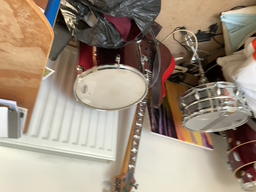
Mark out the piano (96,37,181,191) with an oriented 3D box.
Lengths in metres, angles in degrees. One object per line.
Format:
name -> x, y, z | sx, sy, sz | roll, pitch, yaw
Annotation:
piano -> 0.070, 0.170, 1.430 | 0.420, 1.160, 0.240 | 16, 146, -22

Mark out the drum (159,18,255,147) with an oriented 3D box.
drum -> 0.560, -0.060, 1.430 | 0.520, 0.620, 0.420 | 18, 145, -24

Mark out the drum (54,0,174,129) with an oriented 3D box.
drum -> -0.090, -0.220, 1.210 | 0.420, 0.610, 0.500 | 17, 145, -24

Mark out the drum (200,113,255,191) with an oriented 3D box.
drum -> 0.900, 0.450, 1.560 | 0.470, 0.410, 0.460 | 14, 146, -19
